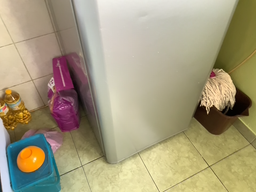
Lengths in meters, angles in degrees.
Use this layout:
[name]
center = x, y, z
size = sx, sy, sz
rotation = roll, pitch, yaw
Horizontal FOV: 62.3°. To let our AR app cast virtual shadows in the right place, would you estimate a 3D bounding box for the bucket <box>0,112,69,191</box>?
[bucket]
center = -0.430, 0.300, 0.990
size = 0.150, 0.310, 0.300
rotation = -23, 54, -18
